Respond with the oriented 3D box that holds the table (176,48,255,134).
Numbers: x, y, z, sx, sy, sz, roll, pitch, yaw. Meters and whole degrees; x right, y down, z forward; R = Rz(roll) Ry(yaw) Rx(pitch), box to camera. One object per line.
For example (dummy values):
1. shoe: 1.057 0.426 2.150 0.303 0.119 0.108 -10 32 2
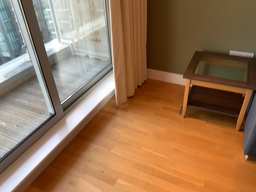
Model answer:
1. table: 0.910 -0.100 2.210 0.600 0.490 0.700 14 38 23
